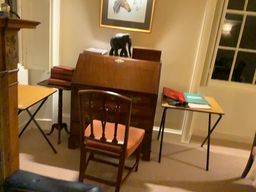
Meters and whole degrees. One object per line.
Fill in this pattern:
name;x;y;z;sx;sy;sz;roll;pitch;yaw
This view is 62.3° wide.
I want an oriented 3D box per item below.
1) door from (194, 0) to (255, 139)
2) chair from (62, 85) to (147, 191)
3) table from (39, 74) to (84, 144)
door;1.580;-0.690;2.680;0.950;2.580;0.110;9;17;7
chair;-0.190;0.380;1.910;0.570;0.790;0.540;9;17;10
table;-0.800;0.140;2.580;0.370;0.700;0.400;8;16;5
